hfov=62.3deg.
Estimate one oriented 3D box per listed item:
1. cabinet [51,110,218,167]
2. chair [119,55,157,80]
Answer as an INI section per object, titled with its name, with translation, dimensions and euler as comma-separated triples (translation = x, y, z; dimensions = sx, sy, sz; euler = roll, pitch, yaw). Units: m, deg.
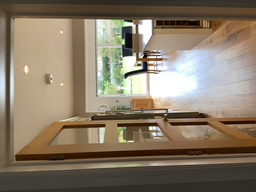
[cabinet]
translation = 0.100, 0.570, 3.070
dimensions = 0.450, 2.240, 0.700
euler = 150, 119, -84
[chair]
translation = 0.280, -0.870, 6.560
dimensions = 0.480, 1.110, 0.640
euler = 131, 138, -82
